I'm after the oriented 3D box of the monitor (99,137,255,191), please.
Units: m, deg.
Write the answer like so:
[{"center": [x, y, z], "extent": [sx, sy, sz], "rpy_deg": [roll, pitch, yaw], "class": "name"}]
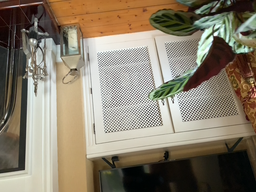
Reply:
[{"center": [0.390, 0.740, 1.510], "extent": [1.160, 0.740, 0.060], "rpy_deg": [-8, 160, 3], "class": "monitor"}]
